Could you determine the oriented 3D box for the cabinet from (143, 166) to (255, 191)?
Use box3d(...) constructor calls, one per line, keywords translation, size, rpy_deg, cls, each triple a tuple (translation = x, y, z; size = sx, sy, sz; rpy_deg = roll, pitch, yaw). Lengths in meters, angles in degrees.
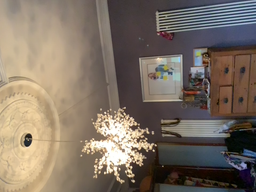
box3d(translation=(1.500, 1.780, 3.650), size=(1.340, 2.440, 0.320), rpy_deg=(-45, -48, -71), cls="cabinet")
